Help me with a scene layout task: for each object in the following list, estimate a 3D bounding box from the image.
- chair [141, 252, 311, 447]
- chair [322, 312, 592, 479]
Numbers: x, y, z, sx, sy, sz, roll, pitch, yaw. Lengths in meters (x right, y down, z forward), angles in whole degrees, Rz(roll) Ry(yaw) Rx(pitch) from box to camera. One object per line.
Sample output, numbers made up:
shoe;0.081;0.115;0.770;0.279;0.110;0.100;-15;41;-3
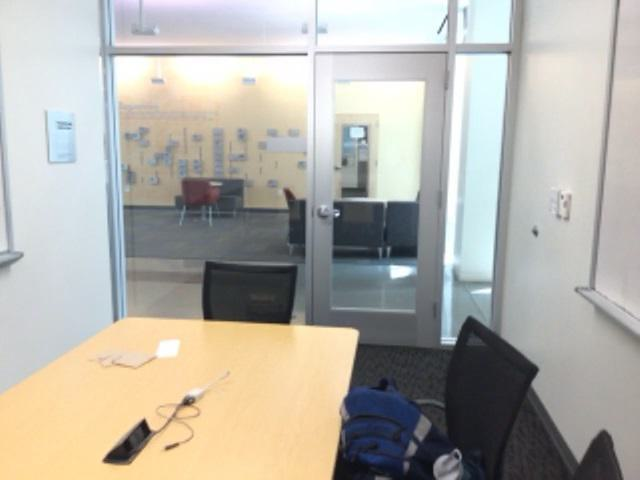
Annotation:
chair;-0.380;0.450;2.560;0.610;0.680;0.500;2;11;7
chair;0.310;0.730;1.680;0.560;0.880;0.620;0;11;-4
